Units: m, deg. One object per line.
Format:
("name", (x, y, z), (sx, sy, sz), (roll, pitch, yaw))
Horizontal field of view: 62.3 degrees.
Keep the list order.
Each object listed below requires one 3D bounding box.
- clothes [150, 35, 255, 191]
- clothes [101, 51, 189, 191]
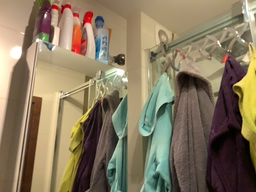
("clothes", (0.320, 0.380, 0.800), (0.440, 1.130, 0.180), (13, -21, -36))
("clothes", (0.060, 0.430, 0.940), (0.190, 1.190, 0.360), (14, -22, -39))
